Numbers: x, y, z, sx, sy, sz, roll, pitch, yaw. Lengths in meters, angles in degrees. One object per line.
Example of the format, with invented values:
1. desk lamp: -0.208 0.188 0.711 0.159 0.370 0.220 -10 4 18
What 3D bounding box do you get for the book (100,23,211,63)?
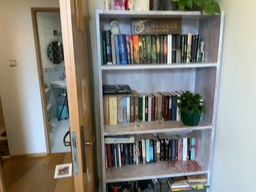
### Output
1. book: 0.190 -0.400 1.600 0.790 0.270 0.190 -2 14 -7
